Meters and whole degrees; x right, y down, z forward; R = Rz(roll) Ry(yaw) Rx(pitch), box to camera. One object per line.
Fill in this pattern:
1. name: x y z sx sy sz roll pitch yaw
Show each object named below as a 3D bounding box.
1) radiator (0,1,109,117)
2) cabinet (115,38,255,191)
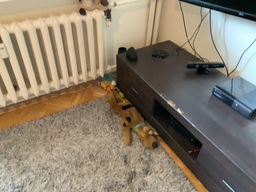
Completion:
1. radiator: -0.870 -0.230 1.570 1.490 0.660 0.280 -20 46 -26
2. cabinet: 0.530 0.130 1.510 0.600 0.410 1.510 -20 45 -25
